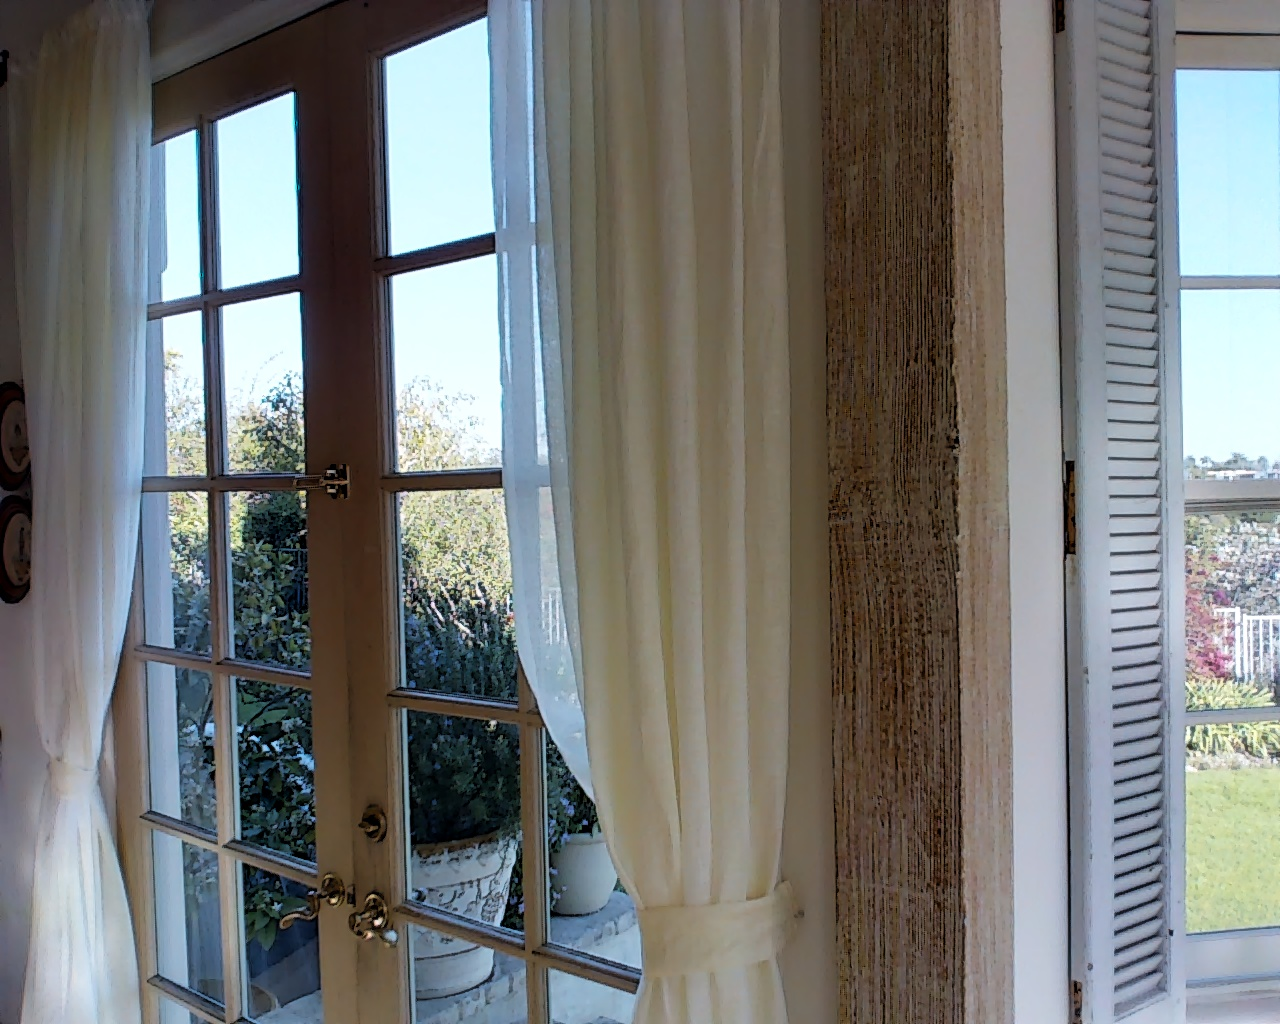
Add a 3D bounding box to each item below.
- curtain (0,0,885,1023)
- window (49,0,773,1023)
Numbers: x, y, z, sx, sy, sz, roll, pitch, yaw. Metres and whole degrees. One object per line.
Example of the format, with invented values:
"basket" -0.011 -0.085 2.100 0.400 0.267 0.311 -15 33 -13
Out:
"curtain" -0.550 0.250 1.750 1.900 2.661 0.270 0 2 37
"window" -0.510 0.300 1.850 1.560 2.551 0.210 0 2 37
